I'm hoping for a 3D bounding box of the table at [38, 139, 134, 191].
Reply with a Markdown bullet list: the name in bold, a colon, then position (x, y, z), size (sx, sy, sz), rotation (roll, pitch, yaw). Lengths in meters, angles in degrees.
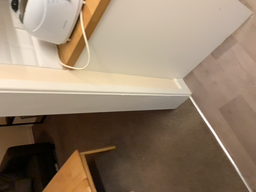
- **table**: position (-0.510, 1.020, 2.220), size (1.160, 0.420, 0.570), rotation (-50, 55, 36)
